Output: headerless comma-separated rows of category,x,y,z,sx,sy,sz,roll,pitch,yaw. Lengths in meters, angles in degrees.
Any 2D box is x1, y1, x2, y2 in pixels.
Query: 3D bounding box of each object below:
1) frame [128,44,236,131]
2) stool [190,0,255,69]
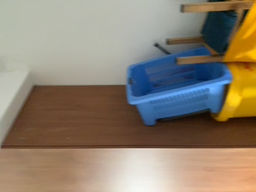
frame,0.290,-0.080,1.420,0.530,0.560,0.330,-88,-3,-51
stool,0.610,-0.430,1.190,0.450,0.370,0.370,-88,-3,-51
